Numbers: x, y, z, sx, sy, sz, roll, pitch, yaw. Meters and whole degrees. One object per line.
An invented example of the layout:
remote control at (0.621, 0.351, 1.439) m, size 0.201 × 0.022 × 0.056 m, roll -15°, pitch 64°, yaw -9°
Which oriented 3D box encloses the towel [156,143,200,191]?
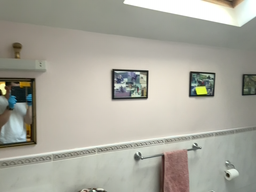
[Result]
towel at (0.420, 0.680, 1.780) m, size 0.320 × 0.490 × 0.170 m, roll -2°, pitch 3°, yaw -26°

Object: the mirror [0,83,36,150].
mirror at (-0.740, 0.120, 1.280) m, size 0.330 × 0.400 × 0.040 m, roll -2°, pitch 3°, yaw -26°
